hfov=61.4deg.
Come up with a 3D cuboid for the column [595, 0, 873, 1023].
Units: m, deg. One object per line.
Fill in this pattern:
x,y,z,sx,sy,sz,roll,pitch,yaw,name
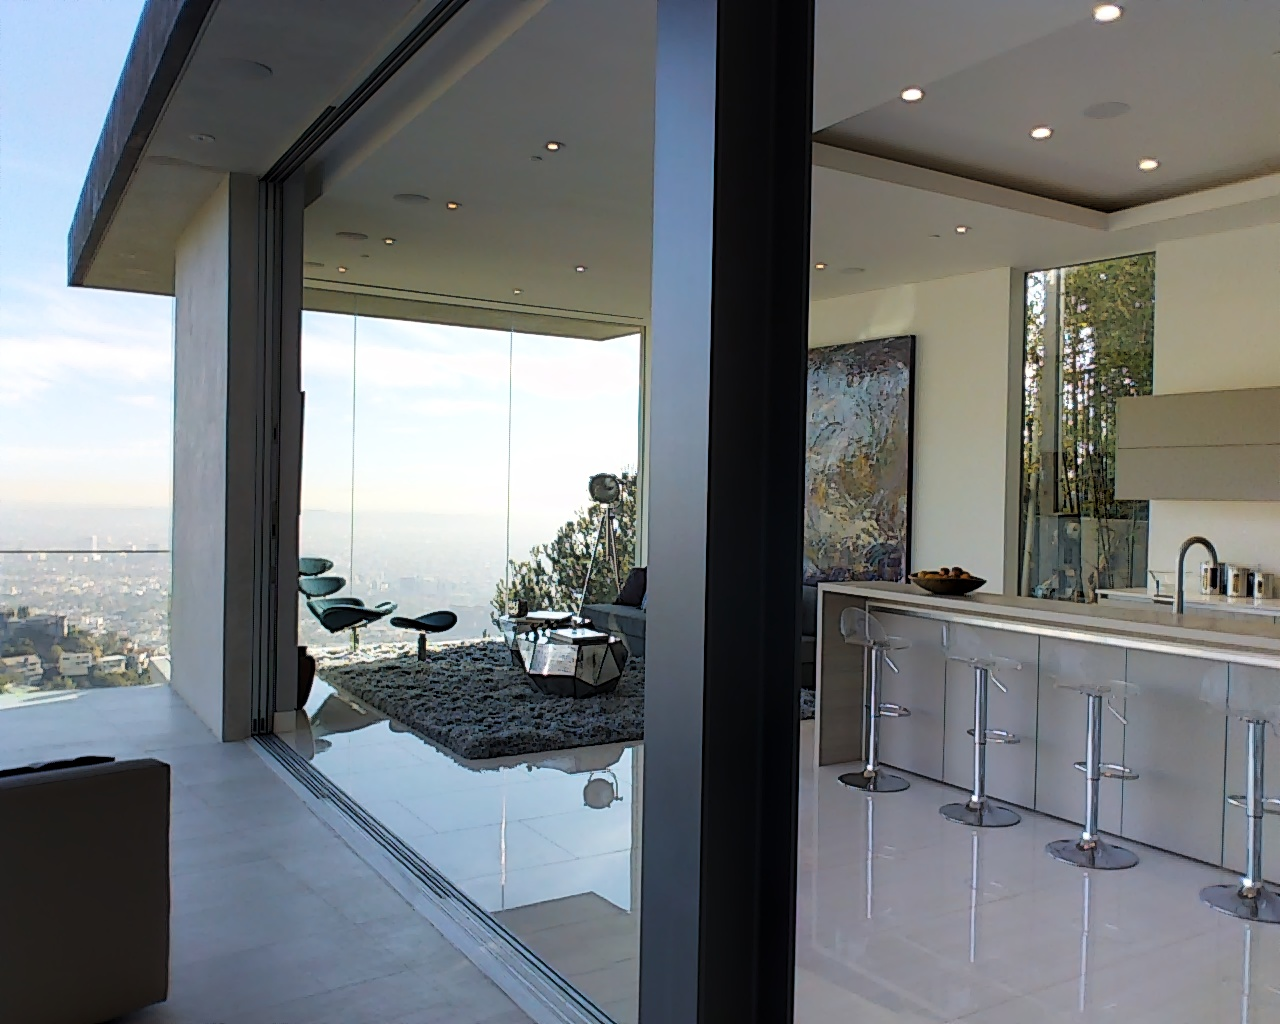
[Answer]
0.210,-0.090,2.520,0.430,3.200,0.440,0,1,-32,column
